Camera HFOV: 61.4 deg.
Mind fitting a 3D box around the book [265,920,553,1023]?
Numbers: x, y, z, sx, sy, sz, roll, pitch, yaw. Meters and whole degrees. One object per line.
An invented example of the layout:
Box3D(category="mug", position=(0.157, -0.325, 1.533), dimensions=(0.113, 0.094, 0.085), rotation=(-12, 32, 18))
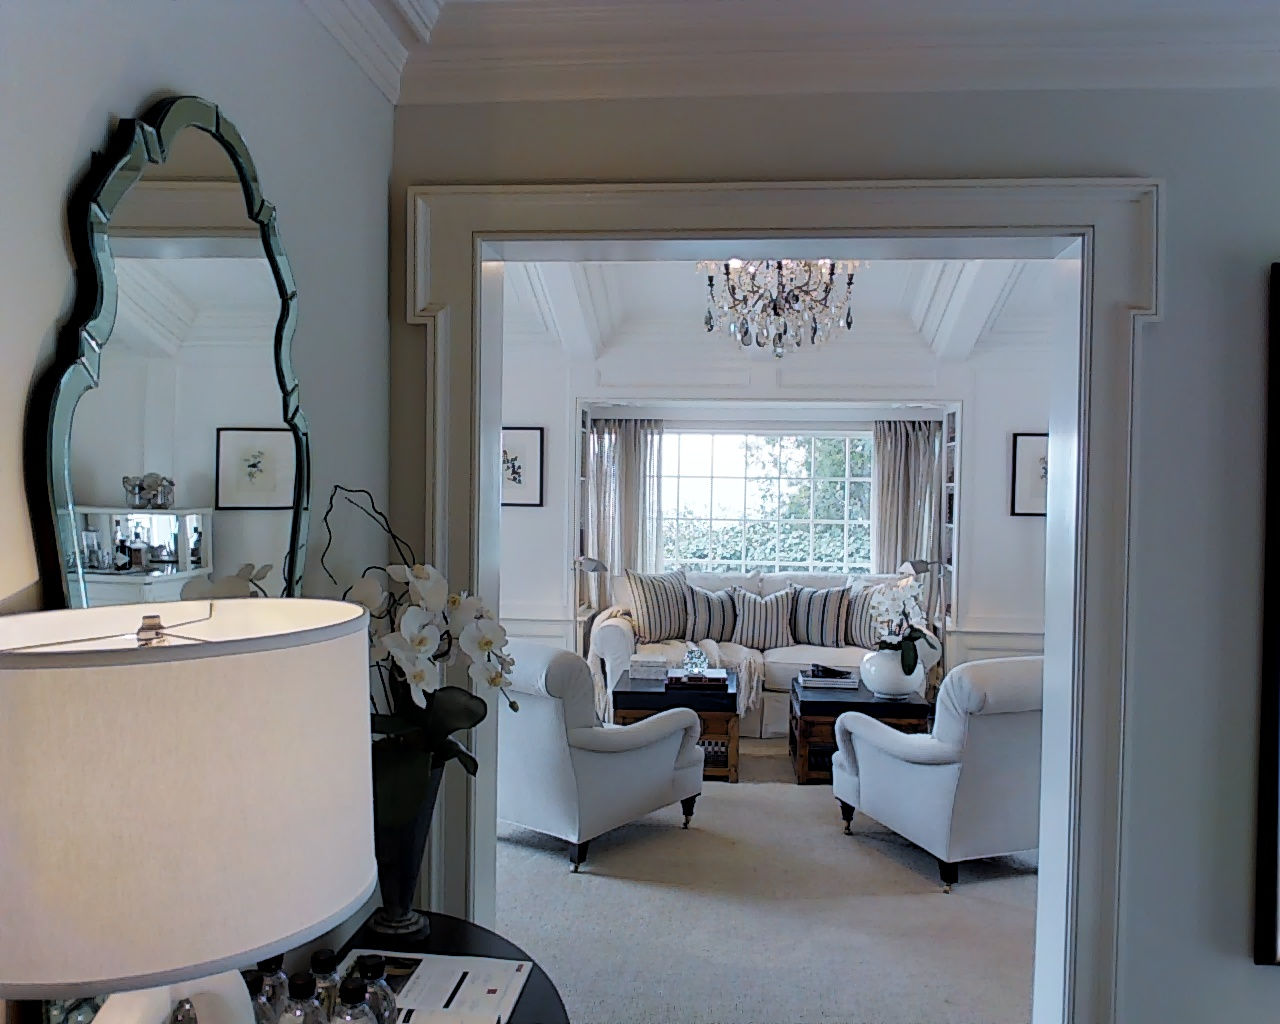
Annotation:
Box3D(category="book", position=(-0.340, 0.730, 1.600), dimensions=(0.340, 0.040, 0.490), rotation=(1, 1, 5))
